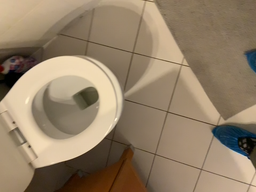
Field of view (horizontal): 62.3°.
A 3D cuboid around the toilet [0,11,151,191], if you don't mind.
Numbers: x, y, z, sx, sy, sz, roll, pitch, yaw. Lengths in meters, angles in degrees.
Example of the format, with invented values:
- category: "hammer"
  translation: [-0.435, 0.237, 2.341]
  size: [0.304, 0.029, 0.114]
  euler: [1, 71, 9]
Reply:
- category: "toilet"
  translation: [-0.330, 0.110, 0.800]
  size: [0.660, 0.790, 0.380]
  euler: [-30, 94, 15]
